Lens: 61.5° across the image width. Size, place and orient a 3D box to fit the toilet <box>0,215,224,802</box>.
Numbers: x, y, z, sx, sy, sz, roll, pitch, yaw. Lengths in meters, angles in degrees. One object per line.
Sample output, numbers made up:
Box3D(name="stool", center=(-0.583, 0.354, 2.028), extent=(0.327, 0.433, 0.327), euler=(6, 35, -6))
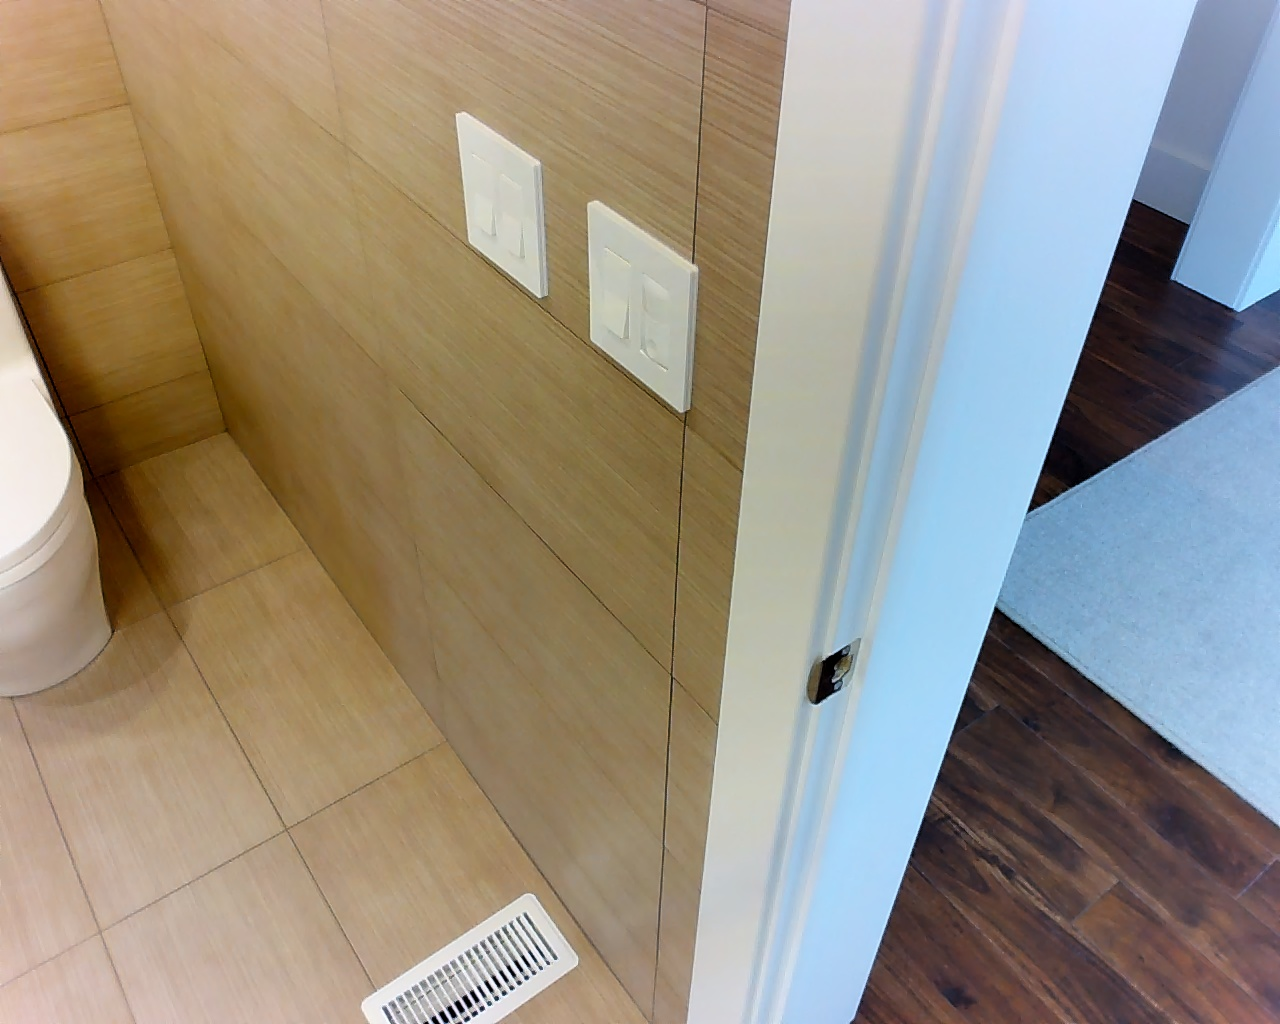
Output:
Box3D(name="toilet", center=(-1.150, -0.040, 1.800), extent=(0.480, 0.700, 0.740), euler=(-26, 48, -26))
